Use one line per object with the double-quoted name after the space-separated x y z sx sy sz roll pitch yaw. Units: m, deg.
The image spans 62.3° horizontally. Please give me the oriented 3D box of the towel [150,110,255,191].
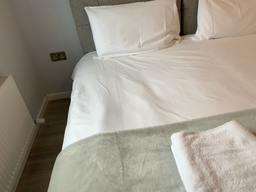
0.320 0.230 0.800 0.390 0.090 0.360 -11 34 -3 "towel"
